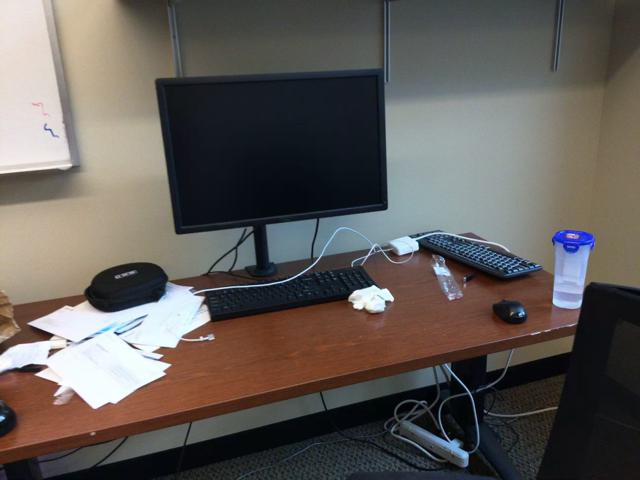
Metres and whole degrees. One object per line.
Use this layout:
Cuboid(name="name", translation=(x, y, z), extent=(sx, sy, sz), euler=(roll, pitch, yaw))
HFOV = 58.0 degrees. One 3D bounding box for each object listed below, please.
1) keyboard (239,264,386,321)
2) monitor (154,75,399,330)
Cuboid(name="keyboard", translation=(-0.020, 0.130, 1.510), extent=(0.340, 0.050, 0.170), euler=(-8, 13, -23))
Cuboid(name="monitor", translation=(-0.100, -0.120, 1.510), extent=(0.560, 0.570, 0.220), euler=(-8, 13, -22))
